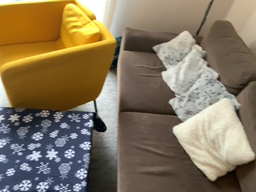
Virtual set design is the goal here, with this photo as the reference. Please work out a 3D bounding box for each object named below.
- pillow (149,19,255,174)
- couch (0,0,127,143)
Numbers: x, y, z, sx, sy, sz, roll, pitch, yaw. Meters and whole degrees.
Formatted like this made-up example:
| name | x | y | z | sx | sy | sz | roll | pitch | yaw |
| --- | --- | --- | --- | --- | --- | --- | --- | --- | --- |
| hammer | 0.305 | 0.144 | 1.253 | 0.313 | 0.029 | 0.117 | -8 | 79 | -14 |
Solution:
| name | x | y | z | sx | sy | sz | roll | pitch | yaw |
| --- | --- | --- | --- | --- | --- | --- | --- | --- | --- |
| pillow | 0.470 | -0.100 | 1.630 | 0.330 | 0.320 | 1.280 | 2 | 48 | -12 |
| couch | -0.590 | -0.260 | 1.690 | 0.780 | 0.720 | 0.760 | -17 | 55 | -27 |
